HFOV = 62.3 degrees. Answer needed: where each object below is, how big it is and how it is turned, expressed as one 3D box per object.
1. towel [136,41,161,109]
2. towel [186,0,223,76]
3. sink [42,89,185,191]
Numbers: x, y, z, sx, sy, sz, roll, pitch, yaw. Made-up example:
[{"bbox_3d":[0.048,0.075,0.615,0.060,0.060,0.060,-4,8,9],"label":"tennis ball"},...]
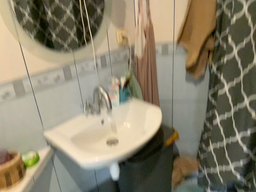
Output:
[{"bbox_3d":[0.150,-0.140,1.500,0.150,0.460,0.110,-5,28,0],"label":"towel"},{"bbox_3d":[0.460,-0.370,1.310,0.170,0.470,0.120,2,26,13],"label":"towel"},{"bbox_3d":[-0.050,0.230,1.220,0.670,0.250,0.430,-26,32,-38],"label":"sink"}]
